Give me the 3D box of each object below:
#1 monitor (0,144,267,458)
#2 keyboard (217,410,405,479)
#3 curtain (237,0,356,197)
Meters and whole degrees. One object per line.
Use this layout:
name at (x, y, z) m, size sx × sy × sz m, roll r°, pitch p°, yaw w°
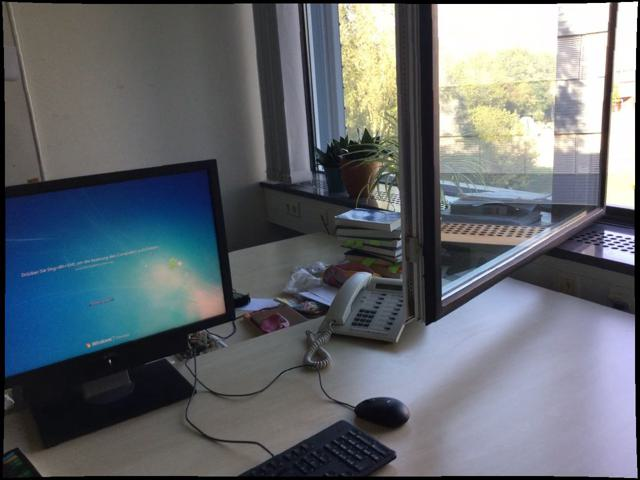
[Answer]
monitor at (-0.440, 0.090, 1.200) m, size 0.560 × 0.470 × 0.210 m, roll -16°, pitch 19°, yaw -27°
keyboard at (-0.070, 0.400, 0.910) m, size 0.410 × 0.030 × 0.160 m, roll -19°, pitch 21°, yaw -33°
curtain at (-0.190, -1.201, 2.970) m, size 0.260 × 1.902 × 0.540 m, roll -16°, pitch 16°, yaw -28°
